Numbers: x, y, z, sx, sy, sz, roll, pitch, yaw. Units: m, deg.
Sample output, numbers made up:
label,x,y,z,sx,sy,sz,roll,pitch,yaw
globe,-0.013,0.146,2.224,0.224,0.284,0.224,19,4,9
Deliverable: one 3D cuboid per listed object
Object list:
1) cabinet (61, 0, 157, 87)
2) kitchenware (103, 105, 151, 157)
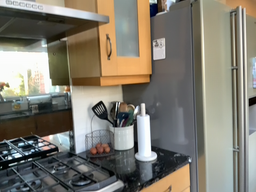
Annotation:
label,x,y,z,sx,sy,sz,roll,pitch,yaw
cabinet,-0.120,-0.480,1.290,0.410,0.820,0.390,-7,7,-43
kitchenware,-0.010,0.220,1.460,0.170,0.280,0.290,-7,7,-40
